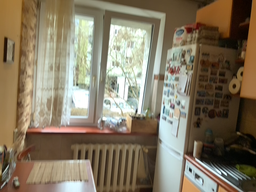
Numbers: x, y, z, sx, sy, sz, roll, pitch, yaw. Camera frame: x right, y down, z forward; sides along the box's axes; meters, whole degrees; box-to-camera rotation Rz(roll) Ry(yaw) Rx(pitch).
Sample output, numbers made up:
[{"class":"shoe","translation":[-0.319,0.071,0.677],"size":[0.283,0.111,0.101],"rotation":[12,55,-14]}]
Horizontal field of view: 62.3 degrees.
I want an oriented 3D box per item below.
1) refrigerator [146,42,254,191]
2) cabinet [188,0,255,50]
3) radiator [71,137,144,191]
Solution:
[{"class":"refrigerator","translation":[0.710,0.440,2.340],"size":[0.660,1.880,0.650],"rotation":[4,6,-16]},{"class":"cabinet","translation":[0.990,-0.750,2.270],"size":[0.320,0.400,0.660],"rotation":[4,6,-16]},{"class":"radiator","translation":[-0.260,0.860,2.570],"size":[0.790,0.620,0.280],"rotation":[5,6,-12]}]
